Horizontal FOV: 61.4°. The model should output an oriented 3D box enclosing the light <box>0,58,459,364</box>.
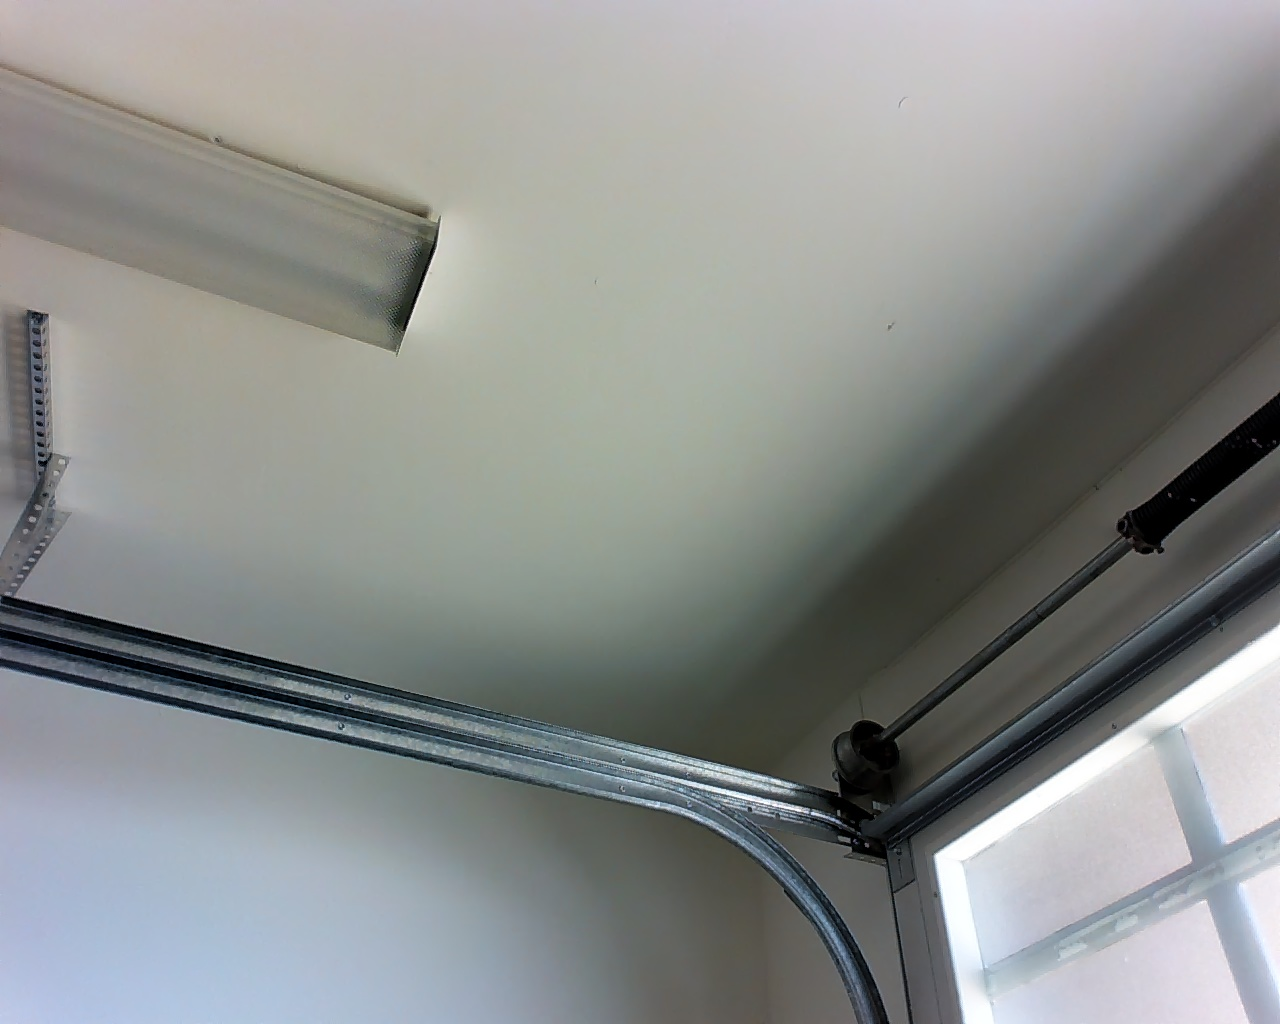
[{"bbox_3d":[-0.840,-0.470,1.370,1.190,0.060,0.220,17,-44,-17],"label":"light"}]
